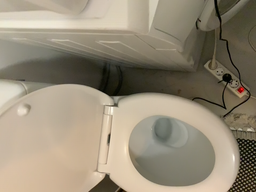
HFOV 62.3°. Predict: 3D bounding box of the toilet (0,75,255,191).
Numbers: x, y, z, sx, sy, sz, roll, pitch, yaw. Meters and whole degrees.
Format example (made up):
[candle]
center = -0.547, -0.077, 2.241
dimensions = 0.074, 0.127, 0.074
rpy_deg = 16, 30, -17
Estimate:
[toilet]
center = 0.040, 0.170, 0.740
dimensions = 0.620, 0.810, 0.370
rpy_deg = 10, 96, 19
